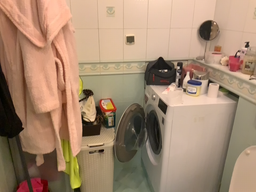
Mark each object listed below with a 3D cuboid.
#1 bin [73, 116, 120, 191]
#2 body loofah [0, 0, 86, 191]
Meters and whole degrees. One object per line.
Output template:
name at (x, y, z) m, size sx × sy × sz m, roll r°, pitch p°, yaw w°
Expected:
bin at (-0.270, 0.560, 1.830) m, size 0.330 × 0.610 × 0.480 m, roll -3°, pitch 22°, yaw -10°
body loofah at (-0.590, -0.160, 1.370) m, size 0.540 × 1.400 × 0.710 m, roll -3°, pitch 22°, yaw -10°
